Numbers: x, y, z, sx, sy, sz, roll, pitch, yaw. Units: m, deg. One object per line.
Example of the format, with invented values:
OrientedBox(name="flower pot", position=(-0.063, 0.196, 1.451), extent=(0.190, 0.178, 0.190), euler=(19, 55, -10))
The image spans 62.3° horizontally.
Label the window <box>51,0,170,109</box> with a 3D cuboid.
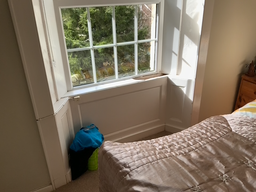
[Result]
OrientedBox(name="window", position=(-0.120, -0.700, 1.830), extent=(0.970, 1.490, 0.240), euler=(-12, 28, -22))
